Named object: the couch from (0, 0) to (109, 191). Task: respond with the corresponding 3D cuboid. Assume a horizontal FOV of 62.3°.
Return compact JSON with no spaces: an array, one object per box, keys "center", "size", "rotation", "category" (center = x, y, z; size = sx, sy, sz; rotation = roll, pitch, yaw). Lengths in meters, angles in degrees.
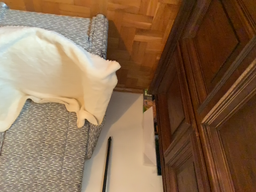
[{"center":[-0.520,0.000,1.260],"size":[0.710,0.970,0.830],"rotation":[5,144,-7],"category":"couch"}]
